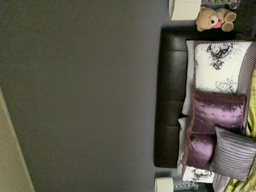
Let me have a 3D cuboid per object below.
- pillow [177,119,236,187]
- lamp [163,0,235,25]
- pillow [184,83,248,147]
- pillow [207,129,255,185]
[{"bbox_3d":[0.660,0.470,1.800,0.200,0.390,0.420,36,131,52],"label":"pillow"},{"bbox_3d":[0.510,-0.690,1.550,0.230,0.440,0.270,-101,8,-61],"label":"lamp"},{"bbox_3d":[0.660,0.130,1.620,0.220,0.340,0.360,40,134,51],"label":"pillow"},{"bbox_3d":[0.760,0.440,1.560,0.160,0.240,0.310,39,133,54],"label":"pillow"}]
